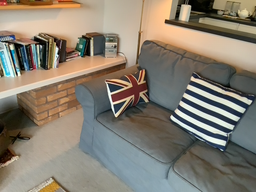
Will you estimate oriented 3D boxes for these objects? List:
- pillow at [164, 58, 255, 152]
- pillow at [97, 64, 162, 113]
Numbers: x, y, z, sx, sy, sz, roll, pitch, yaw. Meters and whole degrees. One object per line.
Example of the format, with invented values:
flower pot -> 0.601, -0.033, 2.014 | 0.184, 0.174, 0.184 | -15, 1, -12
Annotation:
pillow -> 0.530, 0.060, 1.390 | 0.150, 0.400, 0.450 | -22, 62, -42
pillow -> 0.010, -0.060, 1.640 | 0.370, 0.310, 0.170 | -24, 82, -42
